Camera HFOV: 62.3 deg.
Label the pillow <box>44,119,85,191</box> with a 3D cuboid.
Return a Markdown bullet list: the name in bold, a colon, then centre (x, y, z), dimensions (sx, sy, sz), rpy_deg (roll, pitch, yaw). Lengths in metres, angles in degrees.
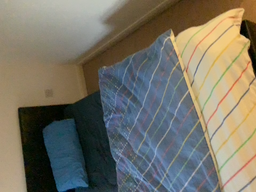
- **pillow**: centre (-0.600, 0.570, 2.050), dimensions (0.160, 0.380, 0.680), rpy_deg (-13, 85, -5)
